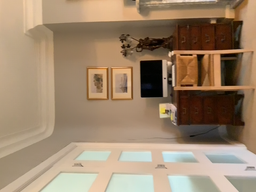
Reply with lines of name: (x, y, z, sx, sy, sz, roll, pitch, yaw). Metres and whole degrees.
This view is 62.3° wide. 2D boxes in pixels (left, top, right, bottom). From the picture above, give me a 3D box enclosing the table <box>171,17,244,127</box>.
table: (0.980, -0.270, 2.760, 0.610, 0.740, 1.250, 1, -92, -85)
